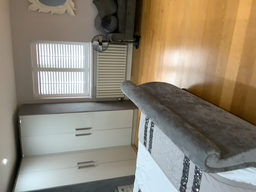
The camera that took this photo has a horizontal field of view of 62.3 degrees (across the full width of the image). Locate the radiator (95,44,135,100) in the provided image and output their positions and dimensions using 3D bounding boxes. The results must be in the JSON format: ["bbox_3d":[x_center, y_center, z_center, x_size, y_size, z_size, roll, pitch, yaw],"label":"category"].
[{"bbox_3d":[-0.300,-0.510,4.660,0.110,0.800,1.180,-137,48,-64],"label":"radiator"}]
